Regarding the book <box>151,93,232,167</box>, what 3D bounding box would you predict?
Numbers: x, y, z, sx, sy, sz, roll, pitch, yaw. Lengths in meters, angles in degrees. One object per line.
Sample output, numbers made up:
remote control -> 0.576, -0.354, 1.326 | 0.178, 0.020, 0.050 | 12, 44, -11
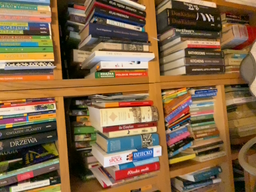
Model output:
book -> 0.330, 0.150, 1.120 | 0.230, 0.330, 0.310 | 1, 95, 64

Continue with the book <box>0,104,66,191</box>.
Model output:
book -> -0.420, 0.220, 0.770 | 0.250, 0.320, 0.350 | -3, 92, 64

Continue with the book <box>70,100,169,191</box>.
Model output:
book -> -0.060, 0.190, 0.970 | 0.340, 0.320, 0.310 | -5, 89, 64
